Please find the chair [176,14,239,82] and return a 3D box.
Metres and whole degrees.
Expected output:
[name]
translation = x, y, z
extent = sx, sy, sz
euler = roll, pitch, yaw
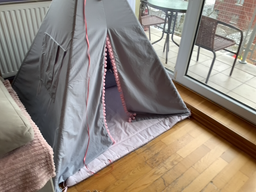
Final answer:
[chair]
translation = 0.850, -0.540, 2.320
extent = 0.380, 0.560, 0.410
euler = 30, 42, 32
